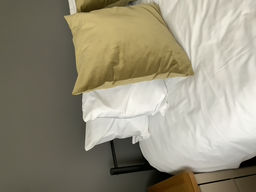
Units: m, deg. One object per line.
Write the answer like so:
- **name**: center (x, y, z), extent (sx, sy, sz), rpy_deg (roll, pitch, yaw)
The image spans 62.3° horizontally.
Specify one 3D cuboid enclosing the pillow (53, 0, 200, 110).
- **pillow**: center (-0.020, -0.230, 0.890), extent (0.240, 0.430, 0.480), rpy_deg (-45, 51, 28)
